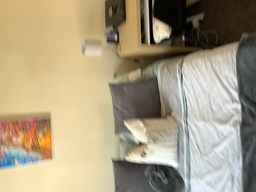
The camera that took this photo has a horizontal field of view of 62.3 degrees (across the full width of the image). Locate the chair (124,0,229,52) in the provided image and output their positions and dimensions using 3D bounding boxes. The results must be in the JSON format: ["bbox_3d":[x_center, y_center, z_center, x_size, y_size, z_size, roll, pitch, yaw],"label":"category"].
[{"bbox_3d":[0.410,-0.650,1.860,0.490,0.750,0.380,179,90,-65],"label":"chair"}]

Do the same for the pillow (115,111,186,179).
[{"bbox_3d":[0.180,0.380,1.770,0.410,0.300,0.380,22,99,44],"label":"pillow"}]

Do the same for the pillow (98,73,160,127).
[{"bbox_3d":[0.040,0.060,1.940,0.300,0.550,0.390,2,80,30],"label":"pillow"}]
